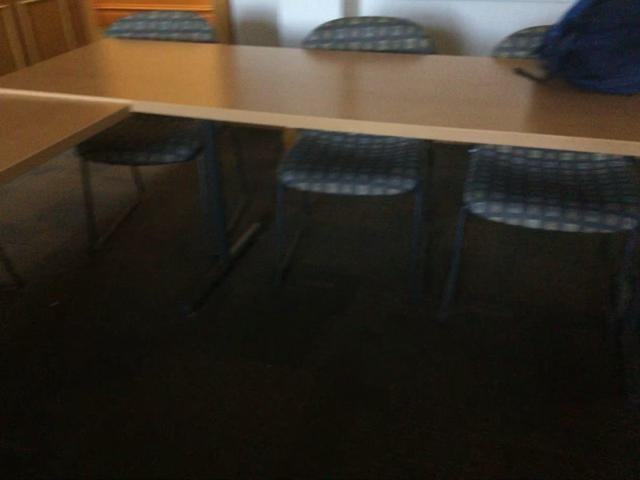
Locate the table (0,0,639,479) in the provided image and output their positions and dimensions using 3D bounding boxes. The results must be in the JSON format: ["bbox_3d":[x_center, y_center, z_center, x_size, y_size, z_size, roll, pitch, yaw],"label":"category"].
[{"bbox_3d":[-0.240,0.520,0.510,2.690,0.990,3.690,6,33,20],"label":"table"}]
